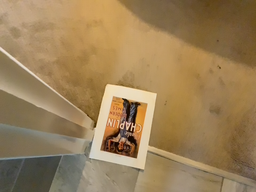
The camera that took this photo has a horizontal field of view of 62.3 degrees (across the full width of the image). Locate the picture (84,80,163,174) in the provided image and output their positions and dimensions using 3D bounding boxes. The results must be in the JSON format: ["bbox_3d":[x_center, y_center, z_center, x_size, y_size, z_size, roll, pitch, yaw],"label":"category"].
[{"bbox_3d":[-0.010,0.110,0.810,0.240,0.020,0.310,11,77,3],"label":"picture"}]
